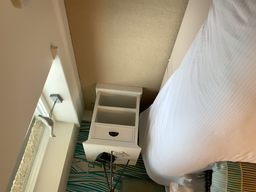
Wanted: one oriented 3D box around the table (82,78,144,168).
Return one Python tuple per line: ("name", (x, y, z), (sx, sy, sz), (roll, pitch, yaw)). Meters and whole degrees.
("table", (-0.120, 0.270, 2.000), (0.450, 0.620, 0.550), (6, 147, -2))
